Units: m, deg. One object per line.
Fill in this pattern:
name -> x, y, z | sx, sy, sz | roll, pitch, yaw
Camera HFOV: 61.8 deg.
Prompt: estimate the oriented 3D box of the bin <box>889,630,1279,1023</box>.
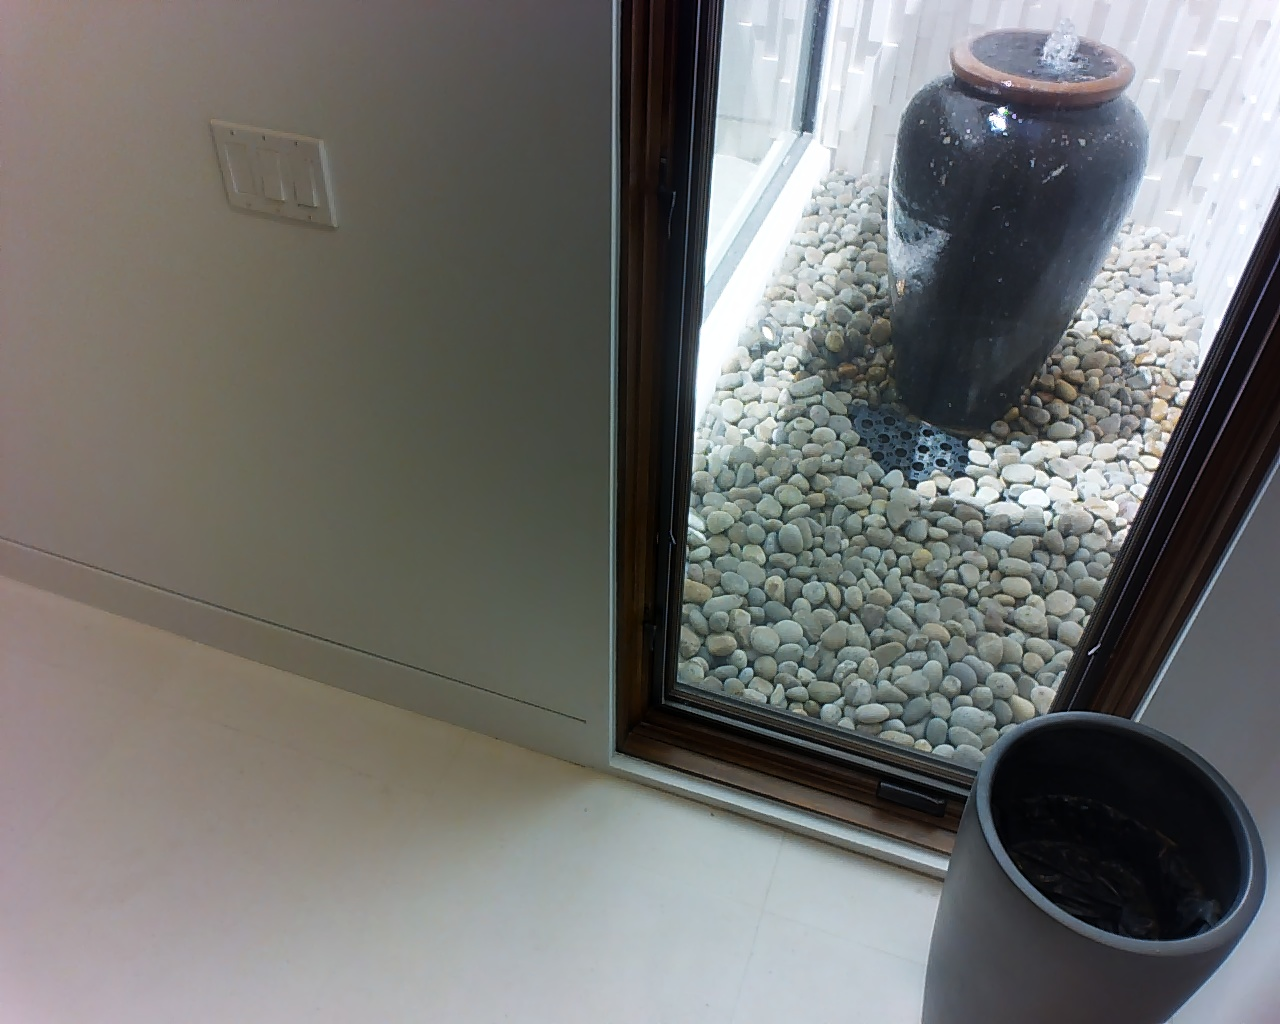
bin -> 0.570, 0.550, 1.400 | 0.360, 0.640, 0.380 | 15, 44, 14
